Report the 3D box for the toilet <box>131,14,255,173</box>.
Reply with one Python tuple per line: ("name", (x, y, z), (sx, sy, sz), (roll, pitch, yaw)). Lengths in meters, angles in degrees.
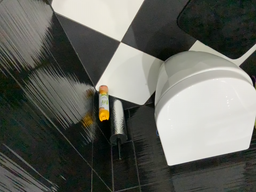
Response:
("toilet", (0.270, 0.010, 0.930), (0.360, 0.380, 0.510), (-14, 134, 5))
